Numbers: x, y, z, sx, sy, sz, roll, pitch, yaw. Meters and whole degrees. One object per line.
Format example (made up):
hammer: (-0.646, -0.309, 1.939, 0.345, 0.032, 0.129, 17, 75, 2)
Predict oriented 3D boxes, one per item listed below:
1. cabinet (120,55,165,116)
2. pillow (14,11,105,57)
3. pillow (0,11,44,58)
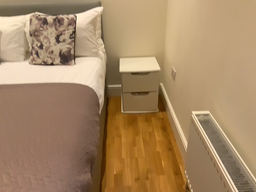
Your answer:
cabinet: (0.140, -0.130, 2.370, 0.430, 0.530, 0.440, -2, 28, -2)
pillow: (-0.570, -0.600, 1.980, 0.650, 0.290, 0.570, -2, 28, -2)
pillow: (-1.210, -0.580, 1.940, 0.620, 0.310, 0.560, -1, 28, 0)
